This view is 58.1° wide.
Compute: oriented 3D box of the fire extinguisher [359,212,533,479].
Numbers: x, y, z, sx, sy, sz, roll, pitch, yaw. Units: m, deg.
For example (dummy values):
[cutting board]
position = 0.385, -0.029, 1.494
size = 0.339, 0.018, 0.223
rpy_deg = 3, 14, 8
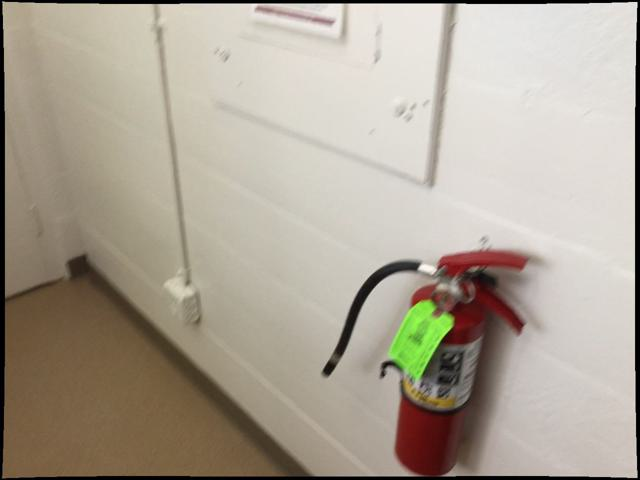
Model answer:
[fire extinguisher]
position = 0.180, 0.201, 0.910
size = 0.130, 0.441, 0.170
rpy_deg = -24, 39, -36
